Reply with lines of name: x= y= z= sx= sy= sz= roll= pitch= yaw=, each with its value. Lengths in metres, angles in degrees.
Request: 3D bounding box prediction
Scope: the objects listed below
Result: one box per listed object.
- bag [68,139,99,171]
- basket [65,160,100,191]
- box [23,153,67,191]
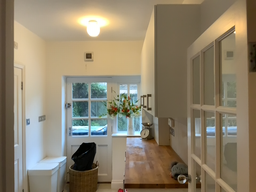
bag: x=-0.730 y=0.970 z=3.560 sx=0.410 sy=0.400 sz=0.490 roll=-1 pitch=0 yaw=2
basket: x=-0.760 y=1.380 z=3.620 sx=0.450 sy=0.410 sz=0.550 roll=-1 pitch=0 yaw=3
box: x=-1.260 y=1.280 z=3.330 sx=0.380 sy=0.580 sz=0.760 roll=-1 pitch=0 yaw=1
